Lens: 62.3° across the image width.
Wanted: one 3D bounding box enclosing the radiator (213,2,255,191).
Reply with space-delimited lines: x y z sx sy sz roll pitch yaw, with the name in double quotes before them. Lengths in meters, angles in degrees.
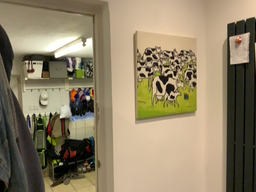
"radiator" 0.900 0.330 1.440 0.090 1.890 0.650 -4 5 -35
